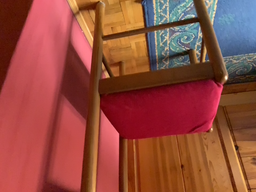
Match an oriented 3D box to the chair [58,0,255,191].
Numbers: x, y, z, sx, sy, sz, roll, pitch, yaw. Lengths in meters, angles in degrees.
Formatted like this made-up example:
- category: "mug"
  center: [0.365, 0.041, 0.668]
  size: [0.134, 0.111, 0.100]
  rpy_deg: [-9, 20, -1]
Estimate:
- category: "chair"
  center: [0.110, 0.080, 0.860]
  size: [0.530, 0.830, 0.420]
  rpy_deg: [-8, 147, 10]
